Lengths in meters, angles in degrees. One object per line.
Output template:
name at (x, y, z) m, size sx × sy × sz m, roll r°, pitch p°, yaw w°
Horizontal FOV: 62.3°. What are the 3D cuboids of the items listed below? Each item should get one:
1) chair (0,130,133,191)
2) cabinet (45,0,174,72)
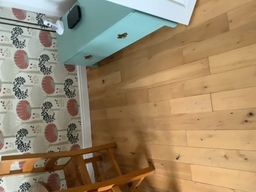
chair at (-0.580, 0.750, 1.970) m, size 0.440 × 1.020 × 0.600 m, roll -55°, pitch 52°, yaw 35°
cabinet at (-0.300, -0.710, 2.040) m, size 1.400 × 0.470 × 0.630 m, roll -12°, pitch 82°, yaw 49°
